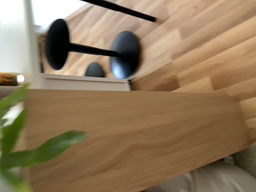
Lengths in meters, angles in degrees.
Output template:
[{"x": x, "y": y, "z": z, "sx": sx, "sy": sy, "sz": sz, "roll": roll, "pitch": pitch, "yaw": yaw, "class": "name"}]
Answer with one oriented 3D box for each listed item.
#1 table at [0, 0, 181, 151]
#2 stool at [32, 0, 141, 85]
[{"x": -0.560, "y": -0.060, "z": 1.700, "sx": 1.530, "sy": 0.930, "sz": 0.740, "roll": -24, "pitch": 72, "yaw": 46, "class": "table"}, {"x": -0.310, "y": -0.350, "z": 1.620, "sx": 0.400, "sy": 0.660, "sz": 0.400, "roll": -23, "pitch": 73, "yaw": 46, "class": "stool"}]
